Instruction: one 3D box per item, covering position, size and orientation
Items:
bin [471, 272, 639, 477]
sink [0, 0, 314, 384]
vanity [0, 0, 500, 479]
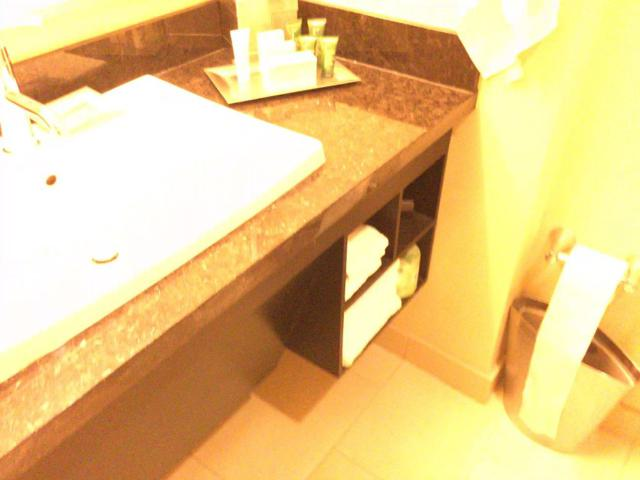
[{"bbox_3d":[0.570,0.320,1.380,0.300,0.370,0.160,27,43,27],"label":"bin"},{"bbox_3d":[-0.350,-0.120,0.880,0.300,0.290,0.710,27,43,27],"label":"sink"},{"bbox_3d":[-0.350,0.090,0.960,0.620,0.670,1.390,27,43,27],"label":"vanity"}]
